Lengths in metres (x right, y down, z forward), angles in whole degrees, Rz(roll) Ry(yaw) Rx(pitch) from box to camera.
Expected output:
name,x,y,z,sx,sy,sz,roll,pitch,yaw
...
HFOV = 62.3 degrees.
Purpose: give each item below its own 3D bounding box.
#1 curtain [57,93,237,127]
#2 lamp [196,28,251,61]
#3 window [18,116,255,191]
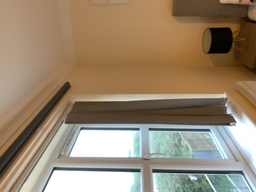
name,x,y,z,sx,sy,sz,roll,pitch,yaw
curtain,0.130,0.100,1.660,0.300,1.270,0.130,-85,-6,-65
lamp,0.930,-0.520,2.120,0.300,0.380,0.250,-85,-5,-63
window,0.110,0.420,1.480,1.010,1.400,0.080,-85,-6,-66
